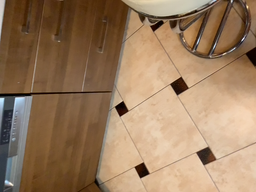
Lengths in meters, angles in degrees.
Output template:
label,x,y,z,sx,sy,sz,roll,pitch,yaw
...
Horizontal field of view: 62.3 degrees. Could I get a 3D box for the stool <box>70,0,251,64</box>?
label,x,y,z,sx,sy,sz,roll,pitch,yaw
stool,0.240,-0.350,0.760,0.340,0.850,0.340,13,98,26
